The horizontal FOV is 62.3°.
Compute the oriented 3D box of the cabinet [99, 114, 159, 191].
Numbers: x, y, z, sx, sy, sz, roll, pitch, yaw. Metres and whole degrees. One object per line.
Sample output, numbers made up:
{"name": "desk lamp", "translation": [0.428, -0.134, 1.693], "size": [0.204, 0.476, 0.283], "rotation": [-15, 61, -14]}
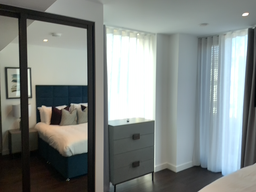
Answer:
{"name": "cabinet", "translation": [0.030, 0.860, 3.400], "size": [0.880, 1.030, 0.420], "rotation": [-2, 4, -37]}
